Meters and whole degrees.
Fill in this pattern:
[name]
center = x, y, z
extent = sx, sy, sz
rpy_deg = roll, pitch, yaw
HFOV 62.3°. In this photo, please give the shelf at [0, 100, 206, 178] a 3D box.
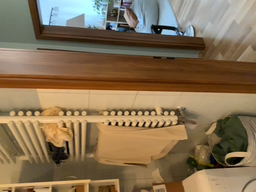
[shelf]
center = -0.290, 0.340, 1.480
extent = 0.790, 1.360, 0.200
rpy_deg = 109, 159, -54
